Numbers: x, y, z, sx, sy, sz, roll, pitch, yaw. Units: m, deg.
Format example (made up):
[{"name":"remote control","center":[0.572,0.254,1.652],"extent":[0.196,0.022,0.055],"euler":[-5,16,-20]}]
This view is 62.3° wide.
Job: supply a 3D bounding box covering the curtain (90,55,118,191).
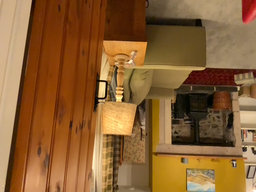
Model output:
[{"name":"curtain","center":[-0.240,0.470,2.280],"extent":[0.190,1.680,0.600],"euler":[2,169,-2]}]
